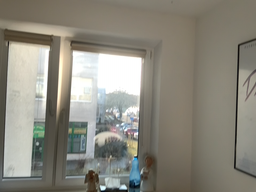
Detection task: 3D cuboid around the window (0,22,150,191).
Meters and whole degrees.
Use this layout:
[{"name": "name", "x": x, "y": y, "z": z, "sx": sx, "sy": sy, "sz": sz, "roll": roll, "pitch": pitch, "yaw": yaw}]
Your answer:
[{"name": "window", "x": -0.530, "y": 0.180, "z": 1.930, "sx": 1.390, "sy": 1.520, "sz": 0.190, "roll": 3, "pitch": -3, "yaw": -11}]
